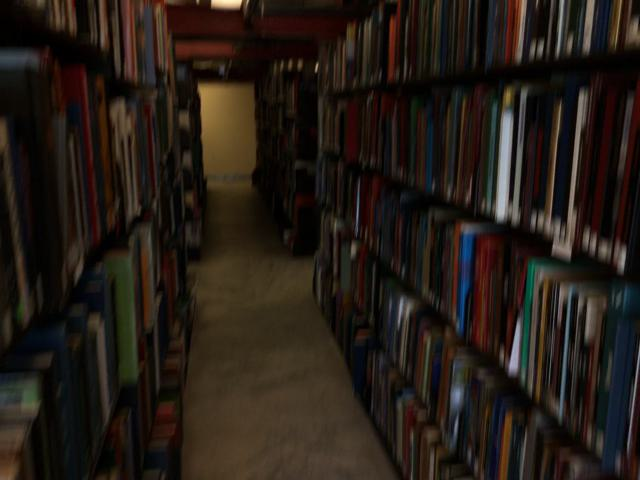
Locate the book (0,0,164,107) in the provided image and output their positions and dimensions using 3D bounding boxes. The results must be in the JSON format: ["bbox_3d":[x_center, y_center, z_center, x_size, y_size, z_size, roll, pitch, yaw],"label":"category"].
[{"bbox_3d":[-0.540,-0.540,1.390,0.180,0.420,1.790,-2,13,-11],"label":"book"}]

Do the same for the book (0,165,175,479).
[{"bbox_3d":[-0.650,0.100,1.690,0.310,0.440,2.150,-2,13,-11],"label":"book"}]

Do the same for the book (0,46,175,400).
[{"bbox_3d":[-0.600,-0.220,1.550,0.300,0.380,1.990,-2,13,-11],"label":"book"}]

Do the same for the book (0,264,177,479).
[{"bbox_3d":[-0.620,0.510,1.670,0.300,0.390,1.920,-2,13,-11],"label":"book"}]
